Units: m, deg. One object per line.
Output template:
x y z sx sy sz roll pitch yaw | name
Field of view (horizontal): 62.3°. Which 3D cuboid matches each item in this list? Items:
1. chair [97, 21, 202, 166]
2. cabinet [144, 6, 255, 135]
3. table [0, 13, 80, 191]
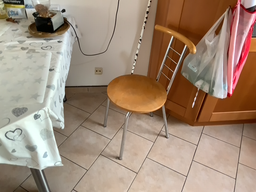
0.120 -0.020 1.480 0.390 0.780 0.520 29 45 26 | chair
0.810 -0.190 1.760 1.190 0.850 0.570 0 40 -6 | cabinet
-0.720 0.070 1.310 0.710 0.740 1.200 -2 40 -8 | table
